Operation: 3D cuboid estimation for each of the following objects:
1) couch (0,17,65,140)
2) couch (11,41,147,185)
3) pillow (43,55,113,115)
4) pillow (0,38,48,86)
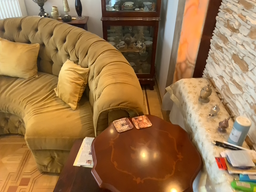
[{"bbox_3d":[-1.000,-0.200,2.080,0.370,0.870,0.840,4,36,3],"label":"couch"},{"bbox_3d":[-0.260,0.090,1.790,0.770,0.770,0.890,4,36,4],"label":"couch"},{"bbox_3d":[-0.410,-0.110,1.790,0.480,0.260,0.300,23,42,27],"label":"pillow"},{"bbox_3d":[-1.020,-0.330,2.050,0.310,0.380,0.240,2,37,9],"label":"pillow"}]
